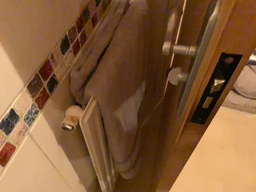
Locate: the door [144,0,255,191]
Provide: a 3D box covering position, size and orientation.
[{"bbox_3d":[0.180,-0.330,0.480,0.050,2.030,0.760,10,54,7],"label":"door"}]
